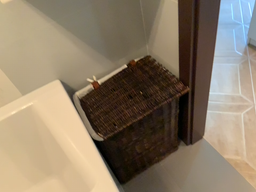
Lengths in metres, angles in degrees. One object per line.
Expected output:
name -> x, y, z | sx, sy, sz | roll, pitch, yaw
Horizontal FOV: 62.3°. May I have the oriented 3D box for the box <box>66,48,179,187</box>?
box -> 0.010, 0.150, 1.220 | 0.420, 0.630, 0.360 | -27, 48, -10
